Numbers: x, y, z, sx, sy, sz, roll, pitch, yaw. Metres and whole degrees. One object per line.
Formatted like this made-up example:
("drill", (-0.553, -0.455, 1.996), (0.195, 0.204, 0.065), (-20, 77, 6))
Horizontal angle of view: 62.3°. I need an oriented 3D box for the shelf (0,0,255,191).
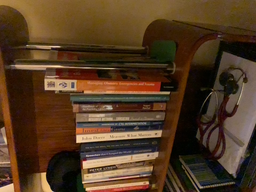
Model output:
("shelf", (0.430, 0.130, 0.860), (0.350, 1.590, 0.770), (-118, 31, -60))
